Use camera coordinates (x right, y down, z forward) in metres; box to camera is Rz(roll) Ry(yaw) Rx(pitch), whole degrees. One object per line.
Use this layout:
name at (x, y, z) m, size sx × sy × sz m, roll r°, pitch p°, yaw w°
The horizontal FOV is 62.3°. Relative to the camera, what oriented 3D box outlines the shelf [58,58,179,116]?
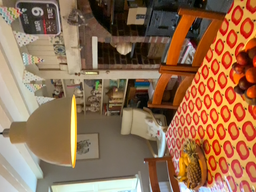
shelf at (-0.210, -0.130, 4.130) m, size 1.240 × 2.030 × 0.360 m, roll 103°, pitch 163°, yaw -52°
